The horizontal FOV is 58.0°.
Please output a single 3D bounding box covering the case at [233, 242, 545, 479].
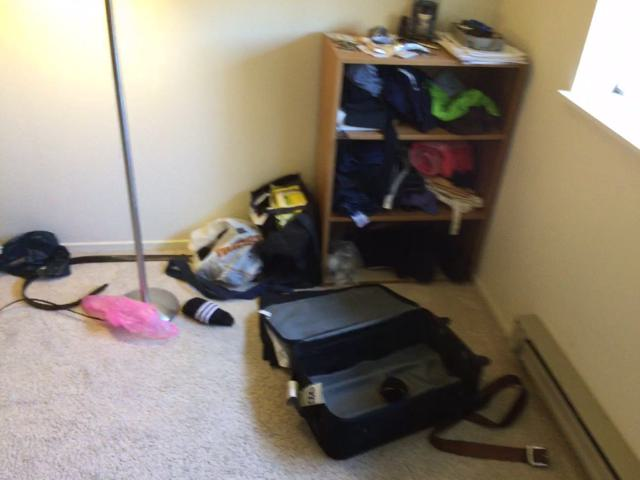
[{"bbox_3d":[0.180,0.330,1.920,0.700,0.180,0.780,-11,34,-26],"label":"case"}]
